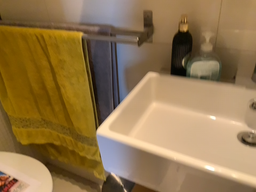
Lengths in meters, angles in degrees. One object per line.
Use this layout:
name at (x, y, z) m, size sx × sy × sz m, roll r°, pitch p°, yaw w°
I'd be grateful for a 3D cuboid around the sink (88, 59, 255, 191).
sink at (0.300, 0.090, 0.490) m, size 0.650 × 0.120 × 0.400 m, roll 13°, pitch 36°, yaw 25°
